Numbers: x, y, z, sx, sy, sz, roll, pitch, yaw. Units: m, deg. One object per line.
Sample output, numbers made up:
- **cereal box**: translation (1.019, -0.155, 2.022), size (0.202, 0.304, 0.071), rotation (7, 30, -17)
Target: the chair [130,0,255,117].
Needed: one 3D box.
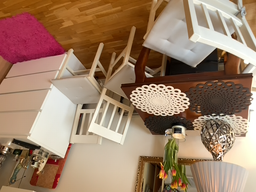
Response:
- **chair**: translation (0.370, -0.410, 1.190), size (0.420, 0.840, 0.510), rotation (20, 148, -14)

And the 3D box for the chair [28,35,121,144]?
- **chair**: translation (-0.440, -0.050, 2.040), size (0.410, 0.860, 0.540), rotation (-4, 146, 25)

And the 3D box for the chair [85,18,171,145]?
- **chair**: translation (0.020, -0.110, 1.780), size (0.390, 0.860, 0.500), rotation (24, 147, -19)

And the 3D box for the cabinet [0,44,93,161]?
- **cabinet**: translation (-1.020, 0.080, 2.300), size (0.880, 1.020, 0.560), rotation (-4, 146, 25)
